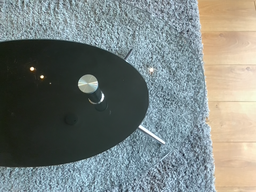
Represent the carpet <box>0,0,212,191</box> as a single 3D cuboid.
[{"bbox_3d":[-0.510,-0.010,1.030,1.720,0.070,1.230,0,75,0],"label":"carpet"}]
